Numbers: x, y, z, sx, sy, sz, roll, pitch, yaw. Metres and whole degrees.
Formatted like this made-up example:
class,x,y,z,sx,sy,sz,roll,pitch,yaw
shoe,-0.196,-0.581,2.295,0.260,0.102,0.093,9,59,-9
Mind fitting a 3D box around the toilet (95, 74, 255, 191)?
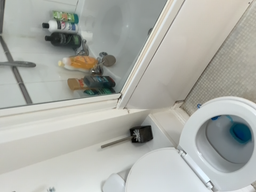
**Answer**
class,x,y,z,sx,sy,sz,roll,pitch,yaw
toilet,0.360,0.280,1.000,0.370,0.780,0.640,52,130,29
